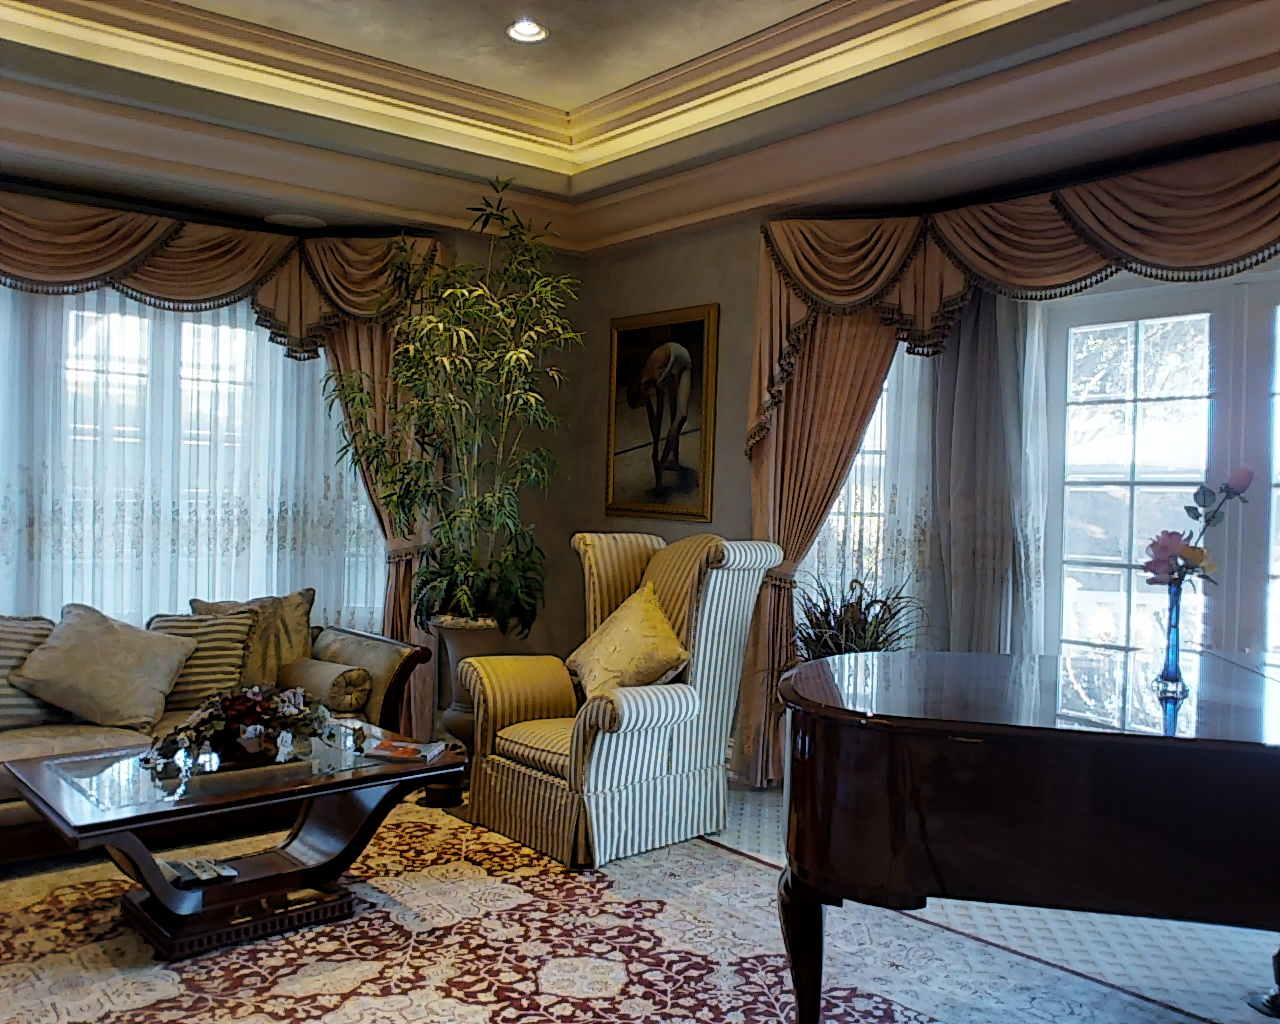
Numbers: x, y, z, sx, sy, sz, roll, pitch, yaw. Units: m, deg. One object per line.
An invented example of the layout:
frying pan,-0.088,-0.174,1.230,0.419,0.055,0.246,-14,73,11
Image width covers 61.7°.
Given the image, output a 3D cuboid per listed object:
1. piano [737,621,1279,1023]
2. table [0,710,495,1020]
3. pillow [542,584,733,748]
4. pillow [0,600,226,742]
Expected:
piano,1.230,0.880,2.490,1.840,1.010,1.580,1,1,11
table,-1.300,1.060,3.560,1.310,0.500,0.940,0,1,-42
pillow,-0.020,0.640,4.670,0.490,0.580,0.700,0,1,-40
pillow,-2.470,0.640,4.400,1.280,0.440,0.660,0,1,-41
